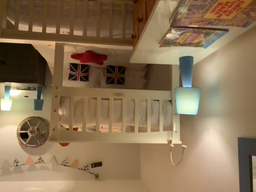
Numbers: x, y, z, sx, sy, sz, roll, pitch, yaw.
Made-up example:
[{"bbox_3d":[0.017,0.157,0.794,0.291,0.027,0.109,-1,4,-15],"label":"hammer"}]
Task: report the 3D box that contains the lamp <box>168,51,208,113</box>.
[{"bbox_3d":[0.380,-0.080,1.370,0.200,0.370,0.150,2,173,-7],"label":"lamp"}]
